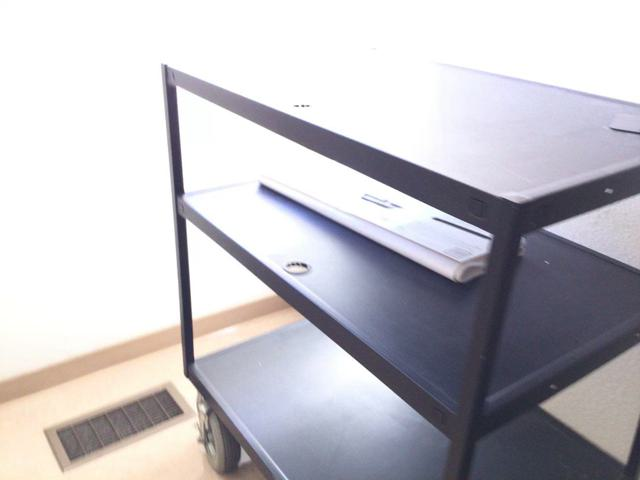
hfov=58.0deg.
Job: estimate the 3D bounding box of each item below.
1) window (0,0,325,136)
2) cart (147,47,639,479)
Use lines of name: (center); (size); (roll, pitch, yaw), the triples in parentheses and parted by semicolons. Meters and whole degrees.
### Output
window: (-0.540, -0.660, 1.610); (1.170, 0.640, 0.270); (-12, 25, -34)
cart: (0.180, 0.200, 1.340); (0.740, 1.170, 1.010); (-12, 25, -34)
